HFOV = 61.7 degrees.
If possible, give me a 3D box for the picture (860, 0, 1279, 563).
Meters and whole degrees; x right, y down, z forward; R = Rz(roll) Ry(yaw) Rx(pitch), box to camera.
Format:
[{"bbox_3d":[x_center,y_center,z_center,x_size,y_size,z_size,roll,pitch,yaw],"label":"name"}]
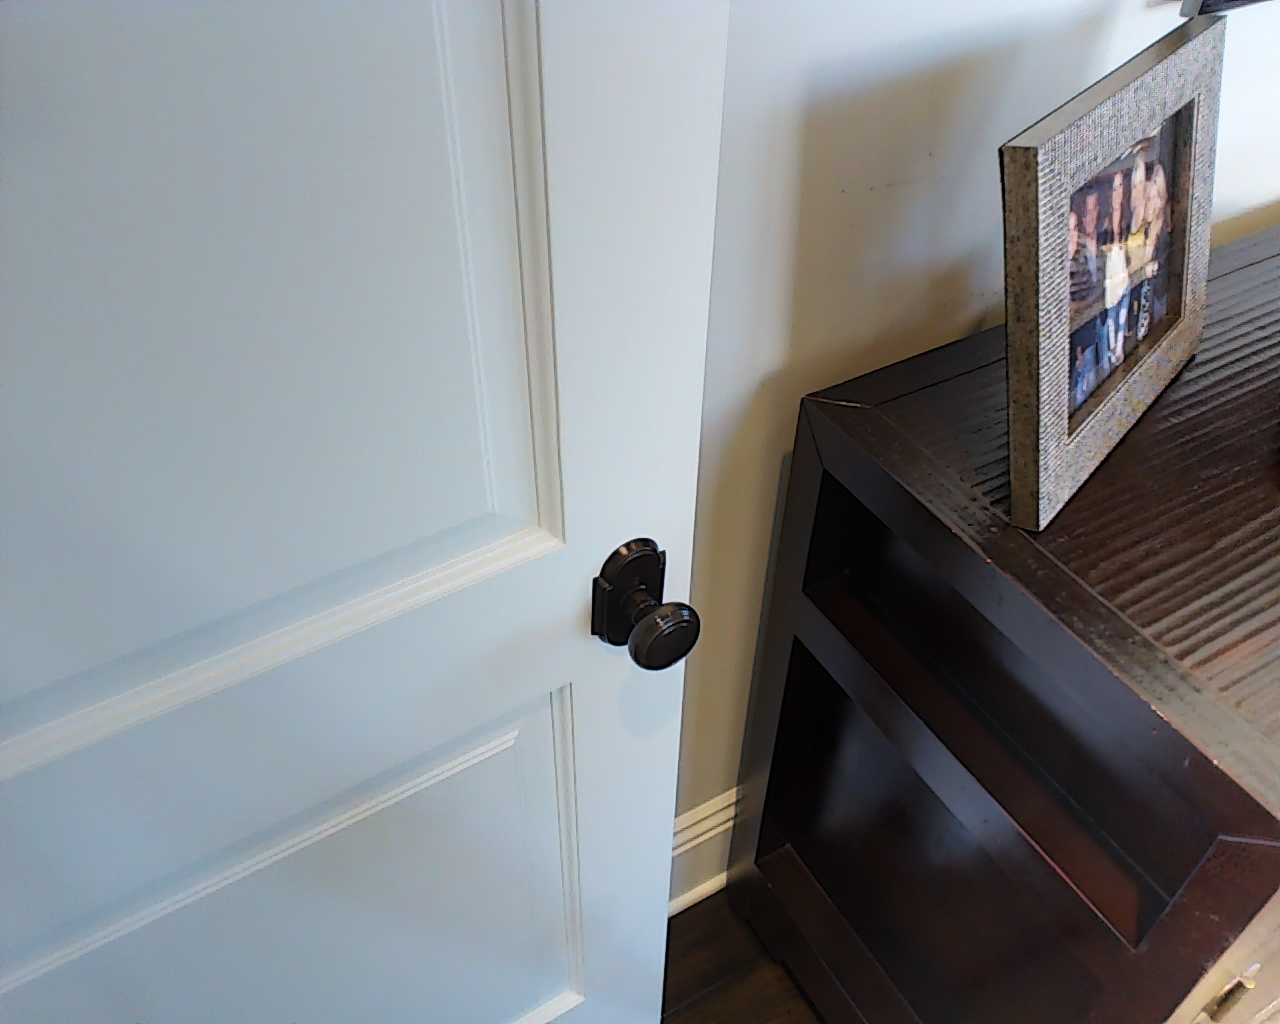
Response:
[{"bbox_3d":[0.370,-0.220,0.880,0.150,0.330,0.440,16,37,39],"label":"picture"}]
